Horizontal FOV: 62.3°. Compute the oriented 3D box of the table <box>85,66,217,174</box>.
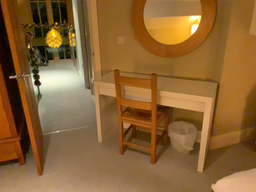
[{"bbox_3d":[0.230,0.180,2.270,1.210,0.780,0.520,10,25,23],"label":"table"}]
